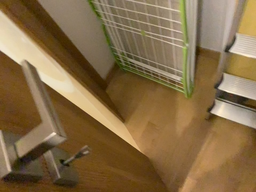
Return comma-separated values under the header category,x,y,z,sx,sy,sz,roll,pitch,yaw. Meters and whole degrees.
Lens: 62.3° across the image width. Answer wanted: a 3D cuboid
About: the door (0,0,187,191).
category,x,y,z,sx,sy,sz,roll,pitch,yaw
door,-0.220,-0.120,0.530,0.130,2.170,0.800,-37,60,-1
